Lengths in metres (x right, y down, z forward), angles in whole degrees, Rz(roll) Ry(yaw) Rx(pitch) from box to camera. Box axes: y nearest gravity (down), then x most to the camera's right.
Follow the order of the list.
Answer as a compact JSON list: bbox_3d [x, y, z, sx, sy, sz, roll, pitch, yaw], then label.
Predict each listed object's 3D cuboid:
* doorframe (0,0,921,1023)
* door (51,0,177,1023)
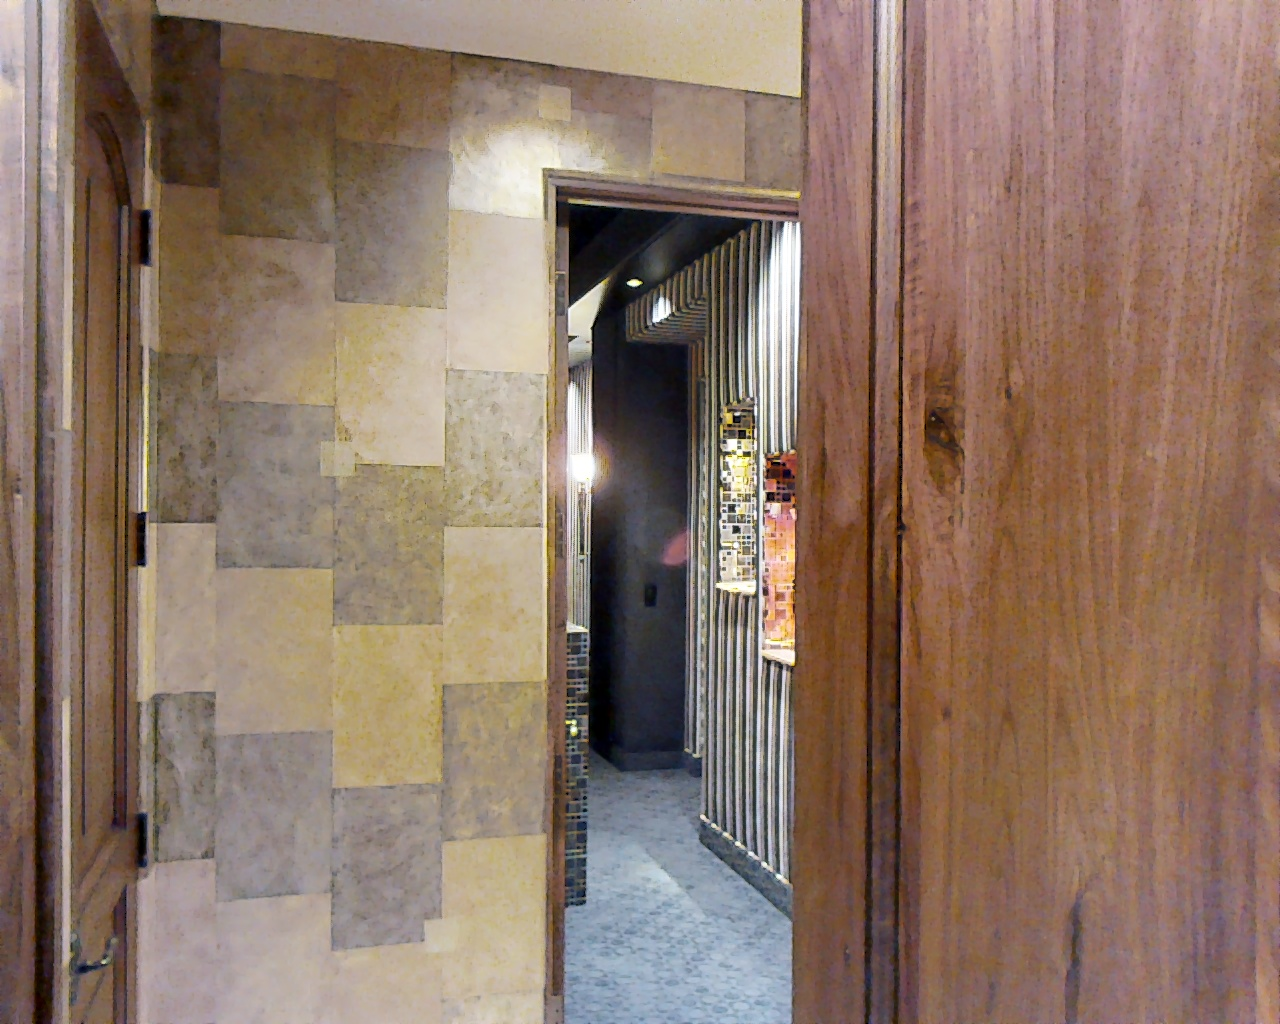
[{"bbox_3d":[-0.180,0.380,1.030,0.840,2.440,0.250,1,0,-17],"label":"doorframe"},{"bbox_3d":[-0.930,0.400,1.930,0.080,2.390,0.700,0,0,-17],"label":"door"}]
